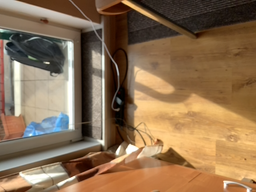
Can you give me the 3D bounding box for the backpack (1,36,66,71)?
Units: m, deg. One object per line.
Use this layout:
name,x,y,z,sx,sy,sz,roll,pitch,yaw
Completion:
backpack,-0.840,-0.360,1.900,0.370,0.410,0.240,6,96,40
